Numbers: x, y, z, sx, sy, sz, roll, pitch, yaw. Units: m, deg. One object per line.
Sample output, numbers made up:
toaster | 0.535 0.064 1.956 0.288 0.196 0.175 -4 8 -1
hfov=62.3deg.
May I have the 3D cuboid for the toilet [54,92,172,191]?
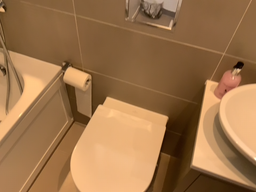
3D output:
toilet | -0.050 0.370 1.160 0.370 0.470 0.530 18 52 9
